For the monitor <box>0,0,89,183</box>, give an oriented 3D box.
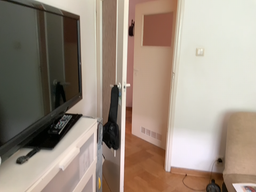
[{"bbox_3d":[-0.390,-0.120,1.120,0.060,0.630,0.960,4,14,7],"label":"monitor"}]
